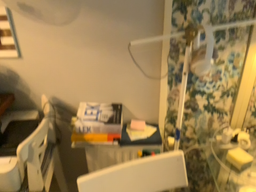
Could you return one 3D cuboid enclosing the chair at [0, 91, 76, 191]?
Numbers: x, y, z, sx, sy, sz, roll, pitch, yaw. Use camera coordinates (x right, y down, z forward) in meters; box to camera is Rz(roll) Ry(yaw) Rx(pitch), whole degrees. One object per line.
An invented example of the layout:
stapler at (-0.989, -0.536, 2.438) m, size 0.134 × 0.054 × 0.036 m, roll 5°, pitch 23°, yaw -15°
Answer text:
chair at (-0.560, 0.490, 1.130) m, size 0.420 × 0.920 × 0.410 m, roll -5°, pitch 29°, yaw -6°
